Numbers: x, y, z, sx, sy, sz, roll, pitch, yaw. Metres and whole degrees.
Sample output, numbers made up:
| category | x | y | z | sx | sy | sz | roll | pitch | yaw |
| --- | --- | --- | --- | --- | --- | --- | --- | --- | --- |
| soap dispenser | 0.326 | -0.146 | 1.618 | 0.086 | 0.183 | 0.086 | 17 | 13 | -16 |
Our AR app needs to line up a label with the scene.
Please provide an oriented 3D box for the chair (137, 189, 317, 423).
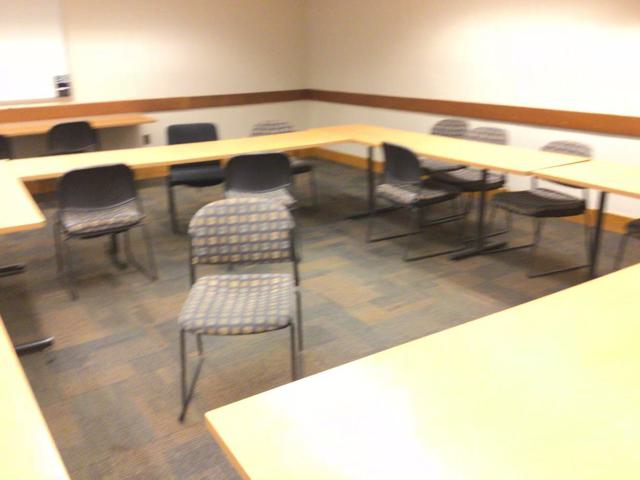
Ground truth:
| category | x | y | z | sx | sy | sz | roll | pitch | yaw |
| --- | --- | --- | --- | --- | --- | --- | --- | --- | --- |
| chair | -0.320 | 0.240 | 2.360 | 0.550 | 0.750 | 0.610 | -1 | 19 | 3 |

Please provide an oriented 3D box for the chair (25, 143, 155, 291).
| category | x | y | z | sx | sy | sz | roll | pitch | yaw |
| --- | --- | --- | --- | --- | --- | --- | --- | --- | --- |
| chair | -1.400 | -0.170 | 3.530 | 0.510 | 0.720 | 0.540 | -15 | 23 | -33 |

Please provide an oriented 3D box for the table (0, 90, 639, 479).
| category | x | y | z | sx | sy | sz | roll | pitch | yaw |
| --- | --- | --- | --- | --- | --- | --- | --- | --- | --- |
| table | 0.050 | 0.030 | 2.700 | 4.050 | 0.930 | 4.770 | -15 | 23 | -33 |
